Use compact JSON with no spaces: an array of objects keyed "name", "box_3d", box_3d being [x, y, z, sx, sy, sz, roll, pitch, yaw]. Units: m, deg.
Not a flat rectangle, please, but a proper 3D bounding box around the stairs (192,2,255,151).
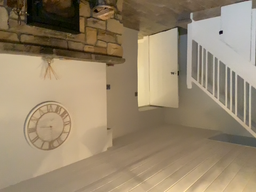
[{"name":"stairs","box_3d":[2.250,-0.300,3.480,2.200,2.300,0.670,3,-175,42]}]
